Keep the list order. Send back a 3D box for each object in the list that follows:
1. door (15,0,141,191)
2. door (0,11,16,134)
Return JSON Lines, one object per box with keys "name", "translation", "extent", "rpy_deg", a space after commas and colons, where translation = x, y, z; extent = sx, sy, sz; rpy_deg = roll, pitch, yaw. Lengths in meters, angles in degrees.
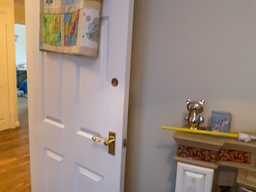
{"name": "door", "translation": [-0.370, 0.120, 1.260], "extent": [0.920, 2.020, 0.090], "rpy_deg": [11, 13, 36]}
{"name": "door", "translation": [-2.240, -0.330, 3.380], "extent": [0.040, 2.050, 0.810], "rpy_deg": [9, 12, 31]}
